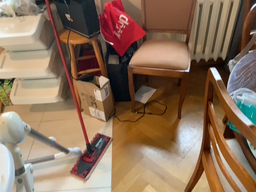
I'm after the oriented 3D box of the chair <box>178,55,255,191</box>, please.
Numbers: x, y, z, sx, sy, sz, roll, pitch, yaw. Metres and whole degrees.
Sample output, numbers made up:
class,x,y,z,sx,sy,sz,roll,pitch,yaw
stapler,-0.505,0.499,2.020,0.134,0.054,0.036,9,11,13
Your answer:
class,x,y,z,sx,sy,sz,roll,pitch,yaw
chair,0.510,0.320,0.840,0.450,0.870,0.410,-7,42,-1

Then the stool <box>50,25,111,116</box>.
class,x,y,z,sx,sy,sz,roll,pitch,yaw
stool,-0.330,-0.180,1.680,0.310,0.640,0.300,-5,42,0

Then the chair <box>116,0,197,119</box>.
class,x,y,z,sx,sy,sz,roll,pitch,yaw
chair,0.230,-0.330,1.630,0.440,0.830,0.550,5,43,11
